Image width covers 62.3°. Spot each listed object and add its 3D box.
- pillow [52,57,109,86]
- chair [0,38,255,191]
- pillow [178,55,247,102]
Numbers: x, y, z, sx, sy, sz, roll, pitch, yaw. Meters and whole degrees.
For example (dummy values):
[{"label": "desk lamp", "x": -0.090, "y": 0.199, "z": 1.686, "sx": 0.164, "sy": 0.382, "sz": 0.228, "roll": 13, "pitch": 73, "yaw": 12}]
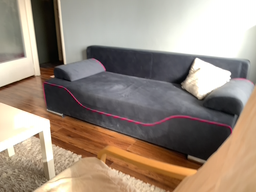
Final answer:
[{"label": "pillow", "x": -0.560, "y": -0.320, "z": 2.610, "sx": 0.350, "sy": 0.200, "sz": 0.590, "roll": 14, "pitch": 25, "yaw": 32}, {"label": "chair", "x": -0.040, "y": 0.360, "z": 0.710, "sx": 0.760, "sy": 0.980, "sz": 0.610, "roll": 14, "pitch": 25, "yaw": 32}, {"label": "pillow", "x": 0.770, "y": -0.190, "z": 2.040, "sx": 0.380, "sy": 0.310, "sz": 0.490, "roll": -3, "pitch": 21, "yaw": -10}]
